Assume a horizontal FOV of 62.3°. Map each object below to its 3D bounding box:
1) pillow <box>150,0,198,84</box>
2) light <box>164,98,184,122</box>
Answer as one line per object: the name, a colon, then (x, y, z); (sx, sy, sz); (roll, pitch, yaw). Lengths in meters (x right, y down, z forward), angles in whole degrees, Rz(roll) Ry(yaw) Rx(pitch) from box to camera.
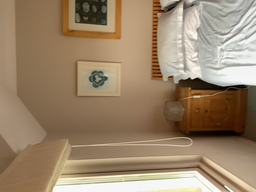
pillow: (0.440, -0.540, 2.160); (0.460, 0.300, 0.820); (-157, 67, -78)
light: (0.480, 0.140, 2.230); (0.170, 0.150, 0.230); (-159, 70, -78)
